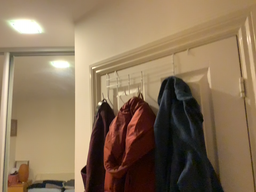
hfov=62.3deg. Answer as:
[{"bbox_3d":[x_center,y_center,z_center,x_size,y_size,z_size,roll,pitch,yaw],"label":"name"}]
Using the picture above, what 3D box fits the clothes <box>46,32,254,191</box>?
[{"bbox_3d":[0.000,0.440,0.870,0.890,1.110,0.230,-9,-11,39],"label":"clothes"}]
